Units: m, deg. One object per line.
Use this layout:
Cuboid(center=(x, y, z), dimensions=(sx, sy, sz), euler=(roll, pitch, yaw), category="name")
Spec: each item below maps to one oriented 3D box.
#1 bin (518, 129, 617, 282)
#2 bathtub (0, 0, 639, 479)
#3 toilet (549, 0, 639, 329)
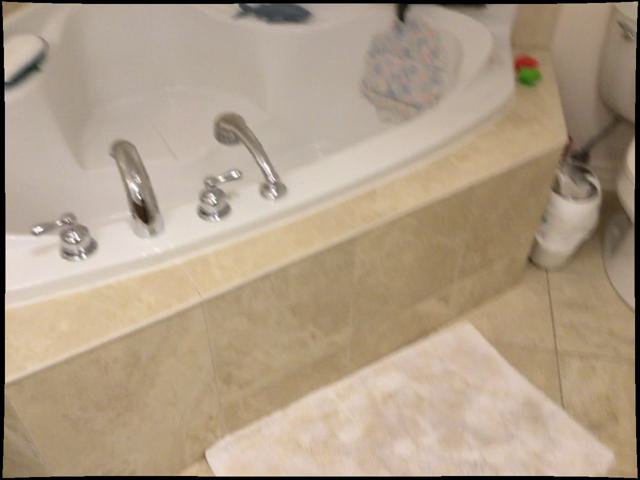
Cuboid(center=(0.729, -0.110, 1.750), dimensions=(0.170, 0.280, 0.350), euler=(10, 45, 7), category="bin")
Cuboid(center=(-0.260, -0.300, 1.630), dimensions=(1.969, 0.700, 1.340), euler=(-24, 51, -24), category="bathtub")
Cuboid(center=(1.039, -0.250, 1.600), dimensions=(0.520, 0.750, 0.710), euler=(10, 45, 7), category="toilet")
